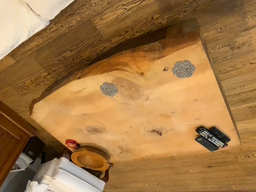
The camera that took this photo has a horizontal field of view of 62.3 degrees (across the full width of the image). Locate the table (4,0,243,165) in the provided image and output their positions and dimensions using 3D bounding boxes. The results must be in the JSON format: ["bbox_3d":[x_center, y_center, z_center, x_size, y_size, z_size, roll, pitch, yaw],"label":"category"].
[{"bbox_3d":[-0.030,0.020,1.410,1.220,0.430,0.790,-16,129,29],"label":"table"}]

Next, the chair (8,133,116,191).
[{"bbox_3d":[-0.840,1.160,2.380,1.040,1.030,0.690,-28,122,37],"label":"chair"}]
